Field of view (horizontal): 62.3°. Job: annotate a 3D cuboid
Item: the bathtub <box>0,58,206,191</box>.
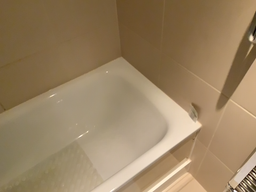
[{"bbox_3d":[-0.490,0.510,1.180,1.670,0.550,0.730,-29,52,-20],"label":"bathtub"}]
